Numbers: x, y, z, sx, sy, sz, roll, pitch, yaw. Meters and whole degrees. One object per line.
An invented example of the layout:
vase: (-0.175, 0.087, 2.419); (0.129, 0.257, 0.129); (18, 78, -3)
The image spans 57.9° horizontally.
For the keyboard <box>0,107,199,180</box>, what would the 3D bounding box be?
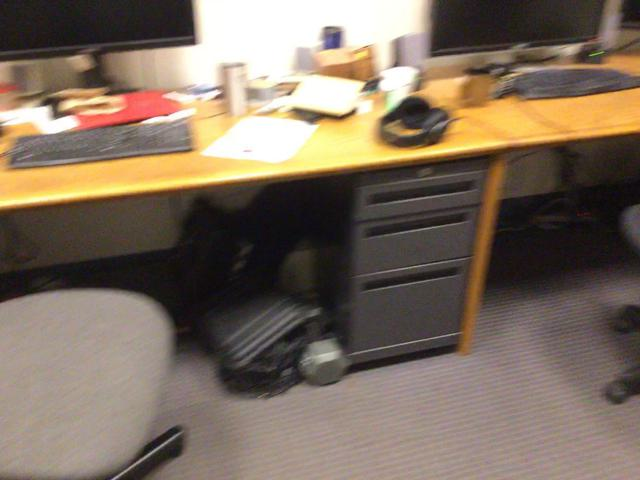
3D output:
keyboard: (-0.550, -0.250, 1.450); (0.460, 0.050, 0.230); (-10, 30, -13)
